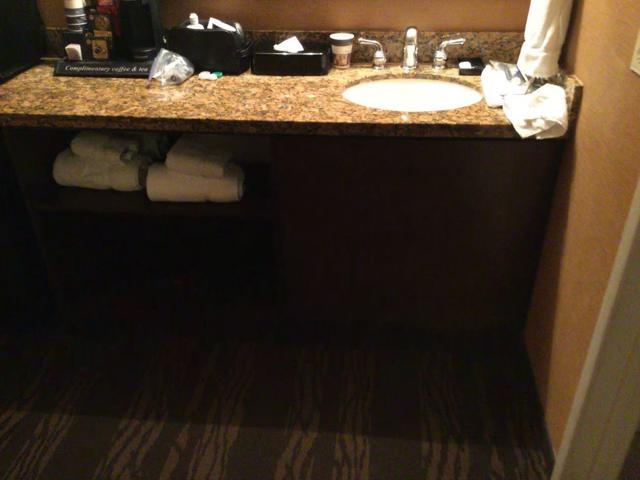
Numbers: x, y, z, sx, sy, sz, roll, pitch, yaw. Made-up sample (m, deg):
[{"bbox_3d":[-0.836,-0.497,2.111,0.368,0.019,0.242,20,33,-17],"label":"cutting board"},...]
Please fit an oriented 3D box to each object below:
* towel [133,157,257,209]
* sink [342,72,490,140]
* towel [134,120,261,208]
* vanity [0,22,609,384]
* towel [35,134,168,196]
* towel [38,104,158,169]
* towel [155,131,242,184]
[{"bbox_3d":[-0.380,-0.180,1.800,0.340,0.110,0.160,1,28,2],"label":"towel"},{"bbox_3d":[0.280,-0.420,1.790,0.420,0.150,0.230,1,28,2],"label":"sink"},{"bbox_3d":[-0.370,-0.250,1.840,0.320,0.180,0.310,1,28,2],"label":"towel"},{"bbox_3d":[-0.410,-0.150,1.920,2.210,1.000,0.660,1,28,2],"label":"vanity"},{"bbox_3d":[-0.700,-0.250,1.890,0.330,0.130,0.230,1,28,2],"label":"towel"},{"bbox_3d":[-0.720,-0.350,1.920,0.260,0.120,0.330,1,28,2],"label":"towel"},{"bbox_3d":[-0.370,-0.260,1.800,0.220,0.100,0.200,1,28,2],"label":"towel"}]
